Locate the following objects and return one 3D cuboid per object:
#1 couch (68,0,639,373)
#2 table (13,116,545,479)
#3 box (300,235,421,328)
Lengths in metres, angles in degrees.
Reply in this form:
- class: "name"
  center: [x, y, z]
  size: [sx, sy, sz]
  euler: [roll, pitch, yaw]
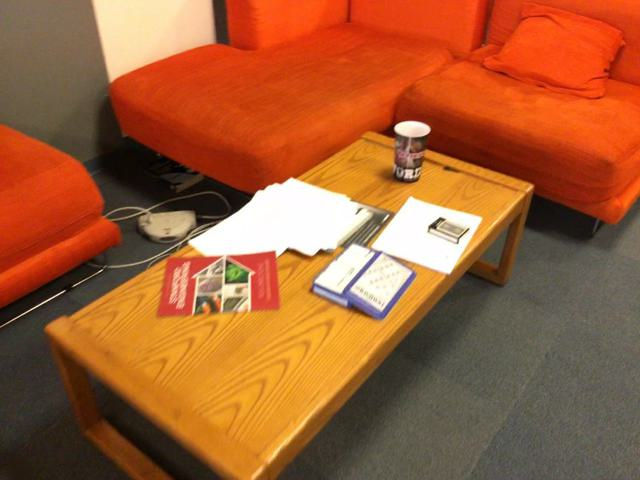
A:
- class: "couch"
  center: [0.340, -0.680, 2.290]
  size: [1.960, 0.810, 1.580]
  euler: [23, 41, 31]
- class: "table"
  center: [0.010, 0.140, 1.640]
  size: [0.690, 0.430, 1.320]
  euler: [23, 41, 31]
- class: "box"
  center: [0.100, 0.090, 1.380]
  size: [0.210, 0.050, 0.220]
  euler: [17, 38, 23]
